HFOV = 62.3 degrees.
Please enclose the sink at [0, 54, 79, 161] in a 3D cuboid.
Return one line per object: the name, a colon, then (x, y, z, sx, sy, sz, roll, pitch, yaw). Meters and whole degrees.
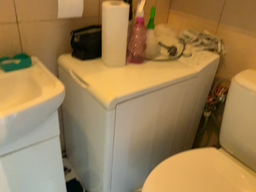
sink: (-0.450, 0.030, 0.670, 0.460, 0.140, 0.370, -17, 39, -33)
